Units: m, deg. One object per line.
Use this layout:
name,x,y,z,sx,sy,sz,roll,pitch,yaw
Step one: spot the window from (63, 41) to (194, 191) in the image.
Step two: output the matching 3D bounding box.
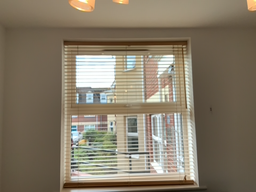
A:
window,-0.010,0.170,2.050,1.190,1.390,0.100,-1,-6,-1
